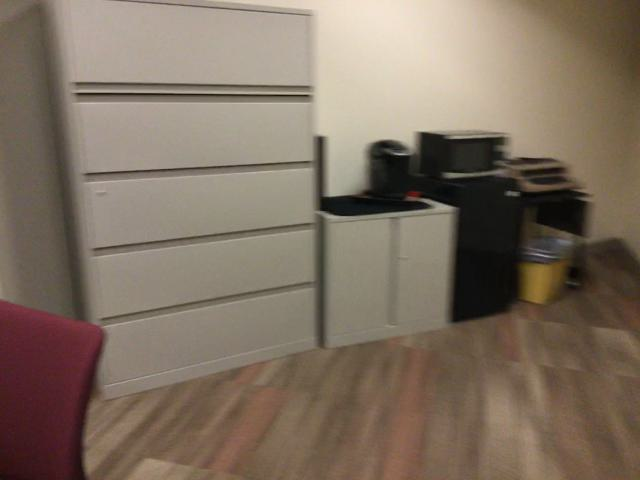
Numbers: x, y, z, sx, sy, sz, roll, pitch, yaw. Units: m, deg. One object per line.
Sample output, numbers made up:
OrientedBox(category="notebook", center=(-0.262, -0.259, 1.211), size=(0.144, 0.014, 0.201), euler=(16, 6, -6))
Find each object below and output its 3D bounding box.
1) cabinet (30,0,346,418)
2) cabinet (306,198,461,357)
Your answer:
OrientedBox(category="cabinet", center=(-0.620, -0.200, 2.630), size=(1.210, 1.680, 0.570), euler=(-1, 12, -30))
OrientedBox(category="cabinet", center=(0.320, 0.190, 2.940), size=(0.710, 0.760, 0.150), euler=(1, 11, -19))
